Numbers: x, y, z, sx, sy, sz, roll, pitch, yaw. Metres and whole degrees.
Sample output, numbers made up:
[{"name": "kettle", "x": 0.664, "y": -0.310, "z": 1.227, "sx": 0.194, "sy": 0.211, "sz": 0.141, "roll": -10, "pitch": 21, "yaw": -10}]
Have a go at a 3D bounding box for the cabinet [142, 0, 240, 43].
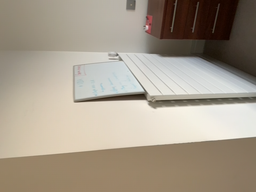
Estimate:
[{"name": "cabinet", "x": 0.540, "y": -0.730, "z": 1.940, "sx": 0.410, "sy": 0.700, "sz": 0.390, "roll": -119, "pitch": 30, "yaw": -62}]
